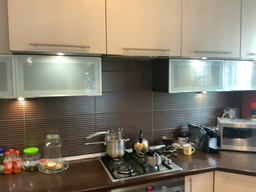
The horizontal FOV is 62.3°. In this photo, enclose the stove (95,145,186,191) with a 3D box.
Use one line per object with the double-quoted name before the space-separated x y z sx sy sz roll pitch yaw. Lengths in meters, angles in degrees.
"stove" 0.080 0.610 1.840 0.610 0.150 0.550 -2 5 -21
